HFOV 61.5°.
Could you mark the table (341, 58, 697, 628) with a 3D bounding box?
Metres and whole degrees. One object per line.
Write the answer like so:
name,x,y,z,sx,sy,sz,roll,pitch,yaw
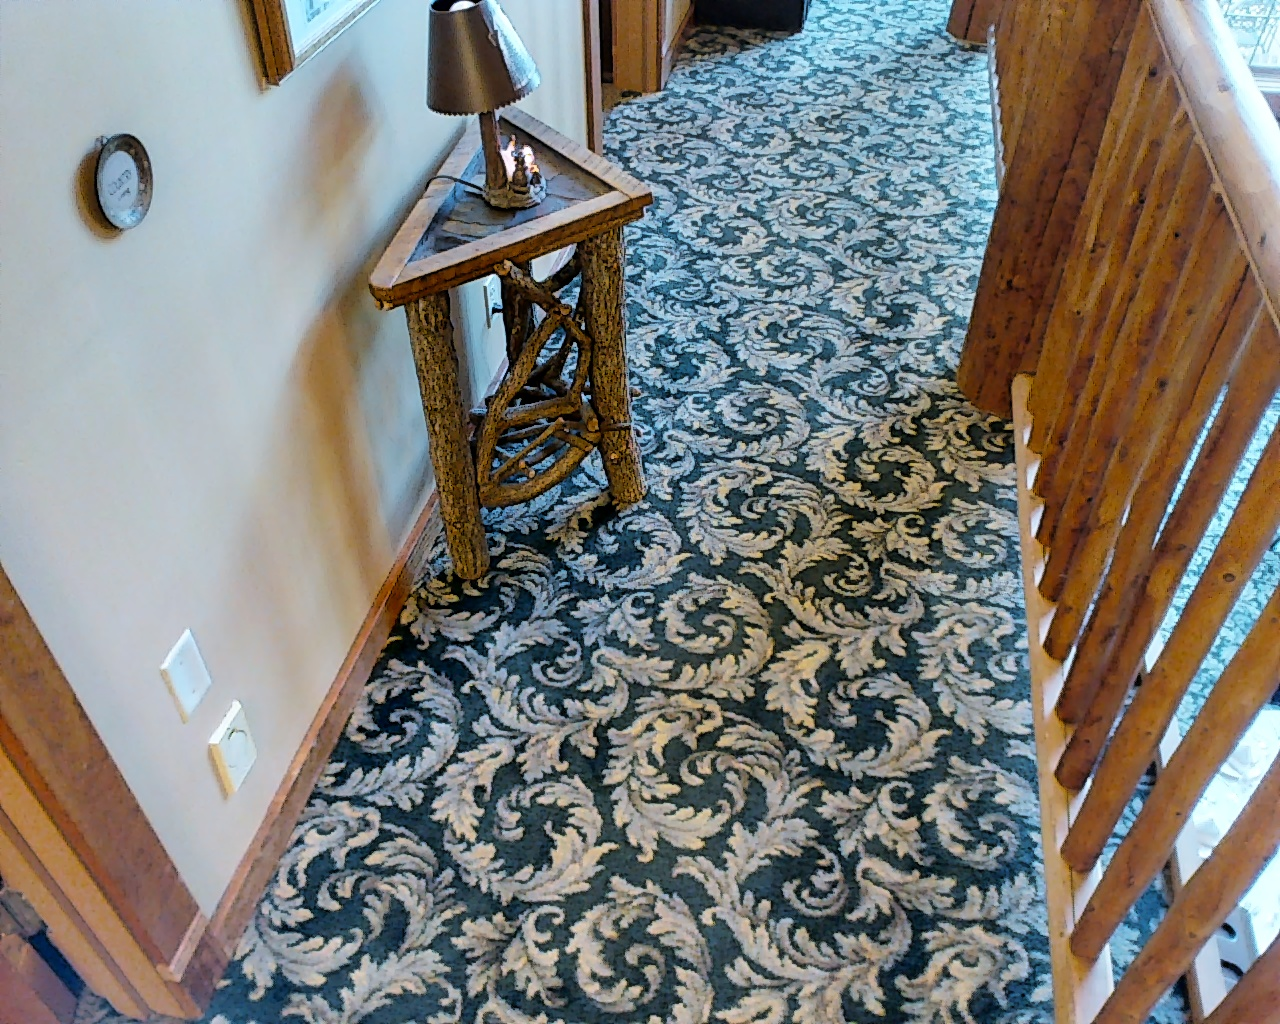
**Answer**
table,-0.170,-0.350,2.140,0.400,0.770,0.790,9,44,9
